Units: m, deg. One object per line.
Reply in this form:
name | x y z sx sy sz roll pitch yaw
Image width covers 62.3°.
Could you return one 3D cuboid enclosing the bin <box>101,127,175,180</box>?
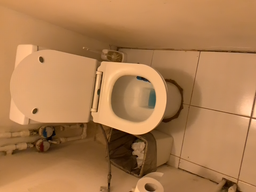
bin | 0.070 0.330 1.310 0.290 0.340 0.180 13 95 37
